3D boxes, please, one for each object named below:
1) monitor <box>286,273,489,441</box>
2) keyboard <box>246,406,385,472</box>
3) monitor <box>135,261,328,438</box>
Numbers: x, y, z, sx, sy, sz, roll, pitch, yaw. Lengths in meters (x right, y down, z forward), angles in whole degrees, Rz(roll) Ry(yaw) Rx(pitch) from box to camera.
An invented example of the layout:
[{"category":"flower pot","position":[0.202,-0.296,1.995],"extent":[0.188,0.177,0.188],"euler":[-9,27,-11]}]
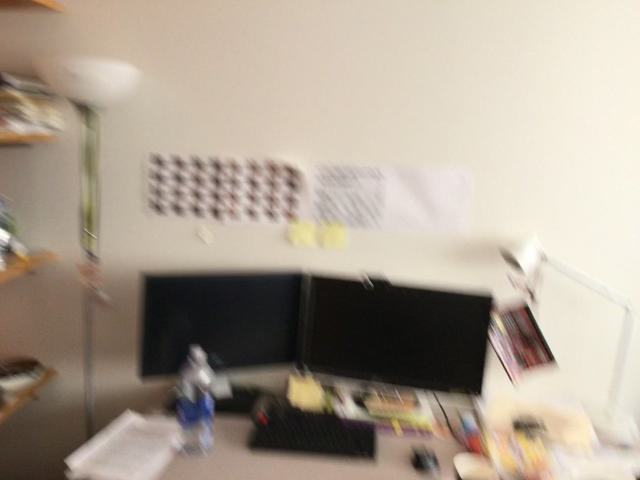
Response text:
[{"category":"monitor","position":[0.200,0.340,1.750],"extent":[0.560,0.440,0.220],"euler":[0,10,6]},{"category":"keyboard","position":[0.000,0.560,1.650],"extent":[0.370,0.060,0.240],"euler":[0,10,6]},{"category":"monitor","position":[-0.250,0.320,1.780],"extent":[0.520,0.470,0.250],"euler":[0,10,6]}]
